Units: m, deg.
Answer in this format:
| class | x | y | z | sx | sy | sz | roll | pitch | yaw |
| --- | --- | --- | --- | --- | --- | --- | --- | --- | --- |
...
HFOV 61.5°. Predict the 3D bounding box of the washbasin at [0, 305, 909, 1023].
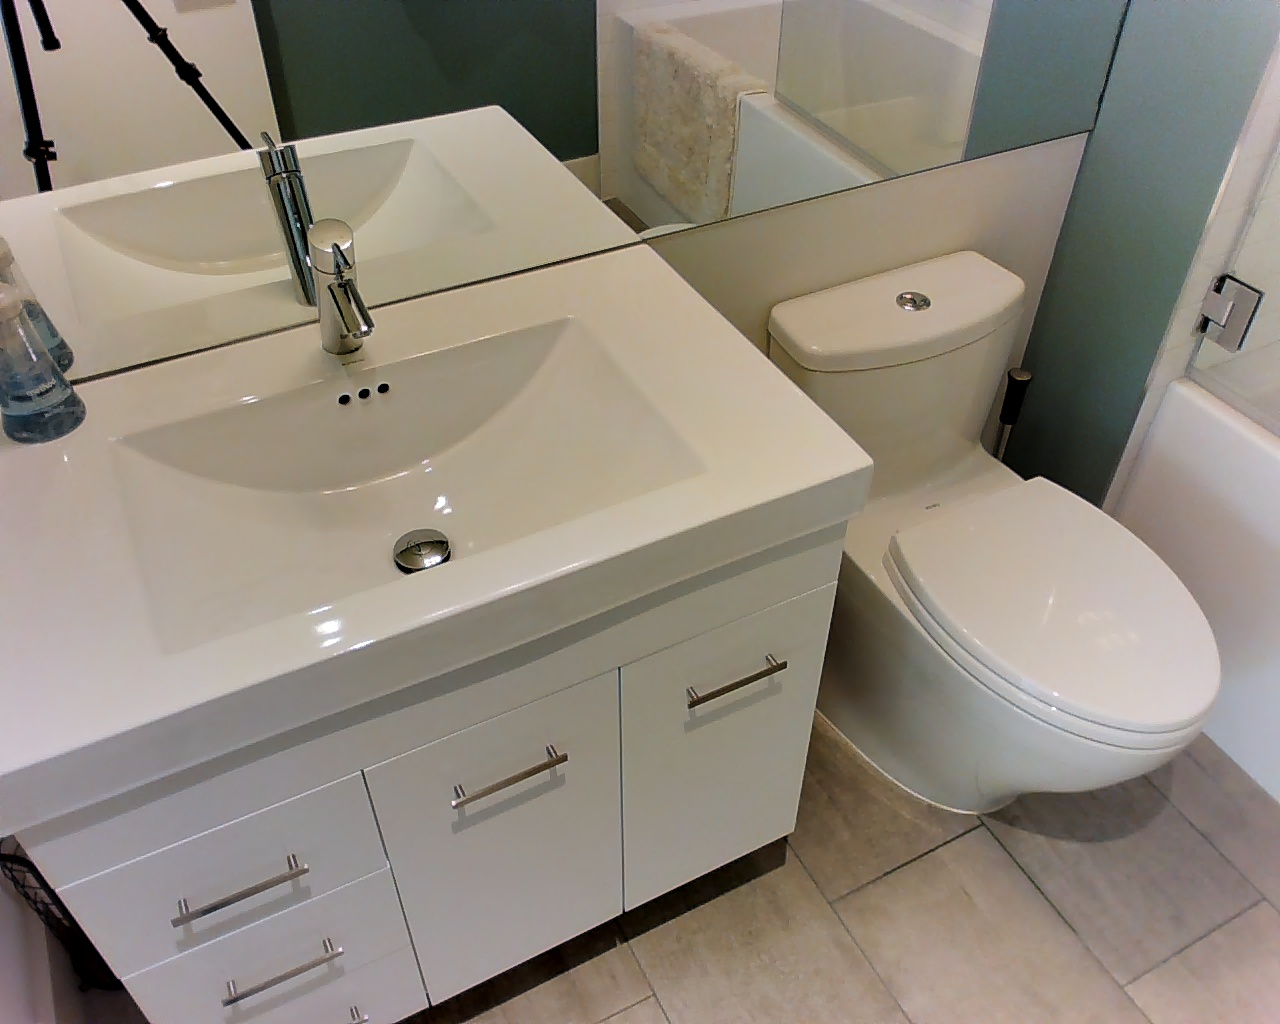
| class | x | y | z | sx | sy | sz | roll | pitch | yaw |
| --- | --- | --- | --- | --- | --- | --- | --- | --- | --- |
| washbasin | -0.230 | 0.310 | 1.310 | 0.930 | 0.860 | 0.340 | -18 | 46 | -19 |
